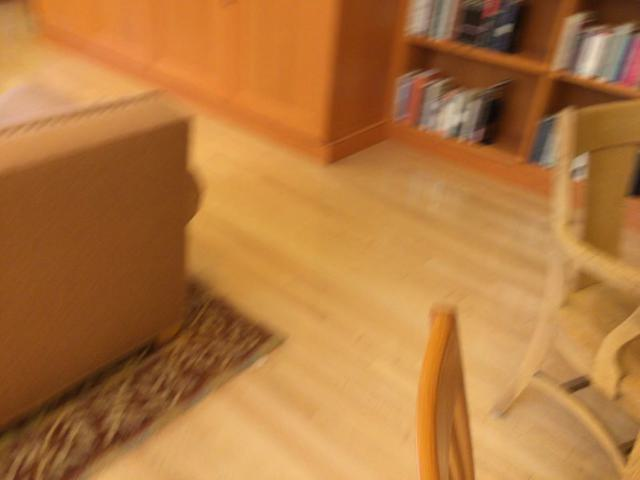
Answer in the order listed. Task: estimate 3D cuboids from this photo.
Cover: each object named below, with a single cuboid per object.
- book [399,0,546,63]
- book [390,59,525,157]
[{"bbox_3d":[0.740,-1.130,2.830,0.580,0.340,0.330,28,40,34],"label":"book"},{"bbox_3d":[0.720,-0.720,3.090,0.570,0.310,0.330,28,40,34],"label":"book"}]
